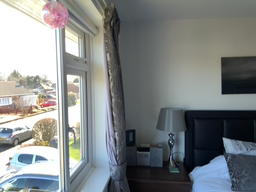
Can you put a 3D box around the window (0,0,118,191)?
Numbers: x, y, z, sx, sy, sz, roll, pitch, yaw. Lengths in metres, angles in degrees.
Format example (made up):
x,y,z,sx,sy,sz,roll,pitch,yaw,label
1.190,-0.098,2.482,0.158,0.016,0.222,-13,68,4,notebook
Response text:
x,y,z,sx,sy,sz,roll,pitch,yaw,label
-0.340,0.110,1.020,0.280,1.390,2.230,0,3,5,window

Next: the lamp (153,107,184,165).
x,y,z,sx,sy,sz,roll,pitch,yaw,label
0.470,0.450,2.530,0.330,0.610,0.340,0,3,6,lamp
